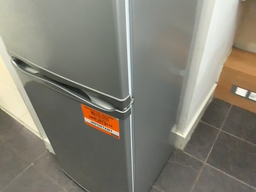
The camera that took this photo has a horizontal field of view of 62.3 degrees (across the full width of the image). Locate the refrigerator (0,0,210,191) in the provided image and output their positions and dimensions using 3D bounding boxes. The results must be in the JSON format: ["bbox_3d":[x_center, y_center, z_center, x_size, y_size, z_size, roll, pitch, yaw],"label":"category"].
[{"bbox_3d":[-0.080,-0.200,0.850,0.560,1.720,0.600,24,50,24],"label":"refrigerator"}]
